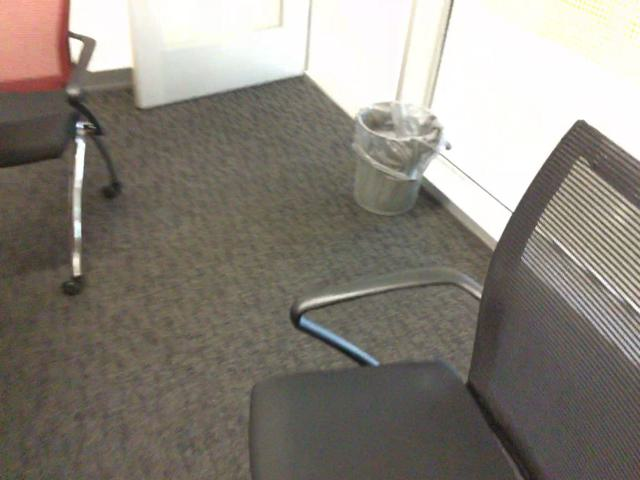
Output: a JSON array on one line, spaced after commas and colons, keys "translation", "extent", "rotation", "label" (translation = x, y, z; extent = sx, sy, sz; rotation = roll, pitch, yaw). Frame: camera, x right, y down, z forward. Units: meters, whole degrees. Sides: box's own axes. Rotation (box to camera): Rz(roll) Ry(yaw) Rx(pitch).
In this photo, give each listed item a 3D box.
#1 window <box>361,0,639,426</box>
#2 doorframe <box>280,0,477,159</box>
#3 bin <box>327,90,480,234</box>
[{"translation": [0.860, -0.260, 1.520], "extent": [0.380, 1.170, 1.940], "rotation": [-14, 42, -26], "label": "window"}, {"translation": [0.270, -1.460, 2.170], "extent": [0.270, 2.040, 1.000], "rotation": [-13, 42, -27], "label": "doorframe"}, {"translation": [0.290, -0.300, 2.140], "extent": [0.360, 0.340, 0.370], "rotation": [-14, 42, -26], "label": "bin"}]
